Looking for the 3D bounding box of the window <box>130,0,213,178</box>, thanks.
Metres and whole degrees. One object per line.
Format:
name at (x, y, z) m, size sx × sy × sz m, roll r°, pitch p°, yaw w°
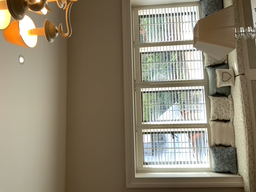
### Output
window at (0.640, -0.170, 3.340) m, size 0.040 × 1.190 × 2.790 m, roll 61°, pitch -152°, yaw -81°
